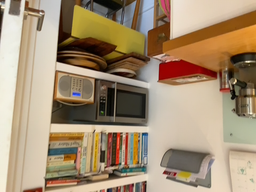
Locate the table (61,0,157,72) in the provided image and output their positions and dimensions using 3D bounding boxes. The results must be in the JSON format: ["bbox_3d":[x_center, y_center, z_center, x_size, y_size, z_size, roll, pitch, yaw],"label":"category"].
[{"bbox_3d":[-0.150,-0.670,1.880,0.700,0.750,0.440,7,172,-37],"label":"table"}]
